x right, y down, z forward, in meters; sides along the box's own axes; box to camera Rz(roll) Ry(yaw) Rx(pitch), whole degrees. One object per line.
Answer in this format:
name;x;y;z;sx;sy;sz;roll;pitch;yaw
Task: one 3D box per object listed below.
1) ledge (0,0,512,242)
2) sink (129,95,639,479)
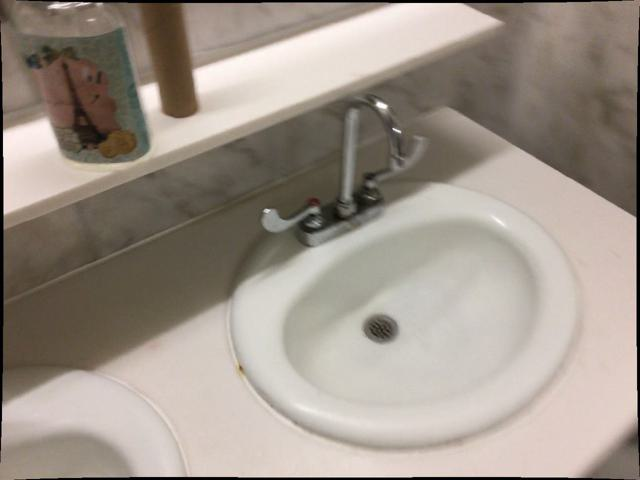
ledge;-0.230;-0.210;0.670;1.080;0.160;0.260;-27;52;-26
sink;0.090;0.060;0.860;0.530;0.200;0.510;-27;52;-26
